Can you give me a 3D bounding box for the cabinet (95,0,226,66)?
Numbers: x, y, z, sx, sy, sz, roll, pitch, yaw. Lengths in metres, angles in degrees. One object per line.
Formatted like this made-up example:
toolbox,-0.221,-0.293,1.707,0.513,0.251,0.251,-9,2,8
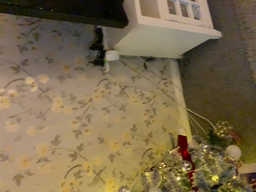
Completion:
cabinet,0.160,-0.840,1.540,0.460,0.700,1.110,-25,71,55
